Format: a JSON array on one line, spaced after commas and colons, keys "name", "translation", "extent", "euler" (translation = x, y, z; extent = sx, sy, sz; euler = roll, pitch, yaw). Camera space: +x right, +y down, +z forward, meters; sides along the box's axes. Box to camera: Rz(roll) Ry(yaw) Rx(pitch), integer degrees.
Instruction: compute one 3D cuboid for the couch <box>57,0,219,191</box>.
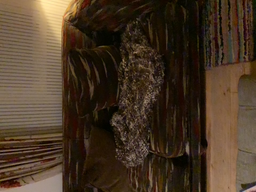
[{"name": "couch", "translation": [-0.030, 0.410, 1.730], "extent": [1.180, 0.780, 2.580], "euler": [-2, 88, 58]}]
